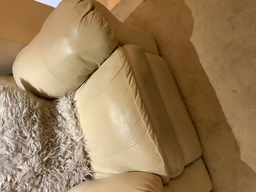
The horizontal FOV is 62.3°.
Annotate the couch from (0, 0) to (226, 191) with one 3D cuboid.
[{"bbox_3d":[-0.340,0.210,1.090,1.040,0.980,1.080,-28,73,35],"label":"couch"}]
